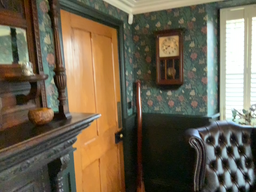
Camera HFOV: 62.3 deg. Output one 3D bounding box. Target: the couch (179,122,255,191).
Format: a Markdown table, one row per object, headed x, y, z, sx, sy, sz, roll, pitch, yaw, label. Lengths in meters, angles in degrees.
| x | y | z | sx | sy | sz | roll | pitch | yaw | label |
| --- | --- | --- | --- | --- | --- | --- | --- | --- | --- |
| 0.920 | 0.810 | 1.720 | 0.800 | 0.980 | 0.840 | -3 | 8 | 1 | couch |

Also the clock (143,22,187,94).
| x | y | z | sx | sy | sz | roll | pitch | yaw | label |
| --- | --- | --- | --- | --- | --- | --- | --- | --- | --- |
| 0.430 | -0.410 | 2.430 | 0.450 | 0.750 | 0.180 | 1 | 8 | 24 | clock |
